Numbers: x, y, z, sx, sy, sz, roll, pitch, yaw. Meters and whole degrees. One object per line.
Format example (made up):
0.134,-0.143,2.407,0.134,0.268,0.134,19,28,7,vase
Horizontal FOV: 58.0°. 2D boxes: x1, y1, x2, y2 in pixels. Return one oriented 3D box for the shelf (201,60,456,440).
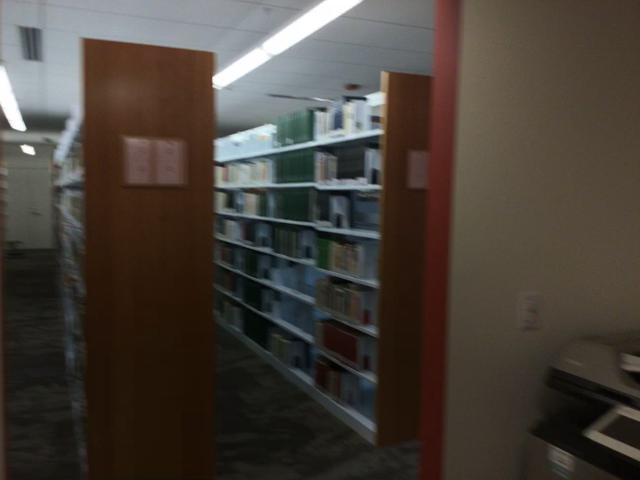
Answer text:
-0.330,-0.120,5.080,0.520,2.060,4.100,-2,6,-24,shelf
